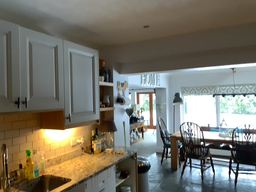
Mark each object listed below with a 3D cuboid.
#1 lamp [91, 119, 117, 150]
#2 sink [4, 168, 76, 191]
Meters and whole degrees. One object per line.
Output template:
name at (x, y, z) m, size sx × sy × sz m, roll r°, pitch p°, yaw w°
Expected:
lamp at (-0.360, 0.570, 3.200) m, size 0.260 × 0.400 × 0.290 m, roll -1°, pitch 0°, yaw 26°
sink at (-0.800, 0.880, 1.970) m, size 0.410 × 0.230 × 0.450 m, roll -1°, pitch 0°, yaw 27°
